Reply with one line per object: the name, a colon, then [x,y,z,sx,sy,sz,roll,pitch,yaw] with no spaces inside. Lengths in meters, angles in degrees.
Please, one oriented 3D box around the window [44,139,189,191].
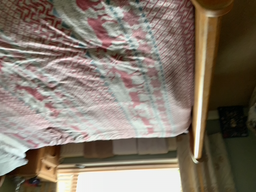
window: [-0.190,1.480,2.370,1.780,1.920,0.070,-6,149,10]
